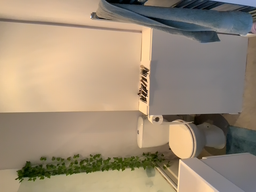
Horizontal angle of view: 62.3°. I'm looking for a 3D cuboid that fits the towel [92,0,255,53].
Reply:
[{"bbox_3d":[0.240,-0.300,0.870,0.310,0.730,0.190,-153,64,-72],"label":"towel"}]
